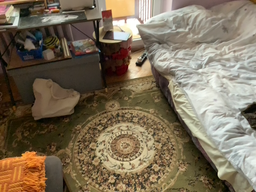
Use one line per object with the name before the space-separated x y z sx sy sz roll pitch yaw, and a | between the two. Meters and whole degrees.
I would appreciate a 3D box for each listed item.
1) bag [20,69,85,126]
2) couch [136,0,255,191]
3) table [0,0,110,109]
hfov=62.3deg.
bag | -0.650 0.000 1.830 0.450 0.240 0.320 -16 43 -16
couch | 0.960 -0.290 1.710 1.320 0.760 1.870 -10 41 -10
table | -0.680 -0.410 1.930 0.890 0.720 0.510 -12 42 -12
